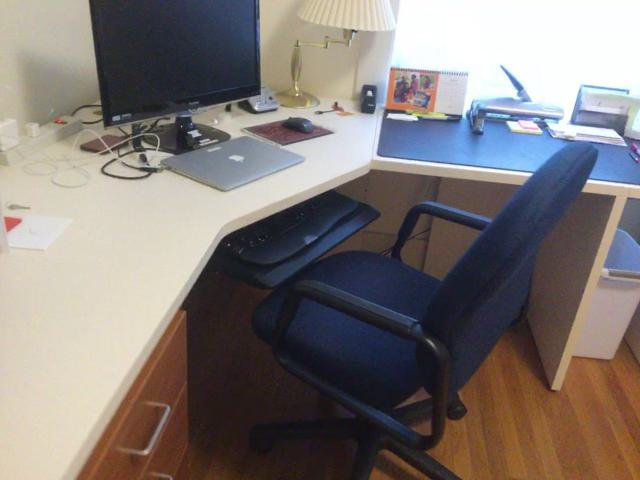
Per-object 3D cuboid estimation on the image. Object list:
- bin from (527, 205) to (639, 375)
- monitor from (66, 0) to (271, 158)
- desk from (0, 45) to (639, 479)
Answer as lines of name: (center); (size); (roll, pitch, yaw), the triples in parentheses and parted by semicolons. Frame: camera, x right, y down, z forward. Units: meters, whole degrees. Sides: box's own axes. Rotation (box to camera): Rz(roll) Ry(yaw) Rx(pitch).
bin: (0.990, 0.160, 2.060); (0.320, 0.400, 0.460); (8, 24, 5)
monitor: (-0.380, -0.490, 1.550); (0.170, 0.430, 0.520); (22, 28, 33)
desk: (0.370, 0.210, 1.450); (2.430, 0.960, 1.790); (8, 24, 5)
